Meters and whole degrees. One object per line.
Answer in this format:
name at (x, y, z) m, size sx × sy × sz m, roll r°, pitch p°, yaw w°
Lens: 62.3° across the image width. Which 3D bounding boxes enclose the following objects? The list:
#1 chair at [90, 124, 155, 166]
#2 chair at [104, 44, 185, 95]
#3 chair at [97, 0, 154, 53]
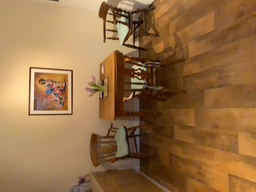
chair at (-0.110, 0.780, 3.360) m, size 0.530 × 0.870 × 0.540 m, roll 138°, pitch 130°, yaw -63°
chair at (0.180, -0.290, 2.700) m, size 0.640 × 0.840 × 0.500 m, roll 172°, pitch 98°, yaw -69°
chair at (-0.070, -1.170, 3.520) m, size 0.540 × 0.730 × 0.630 m, roll 129°, pitch 137°, yaw -59°
